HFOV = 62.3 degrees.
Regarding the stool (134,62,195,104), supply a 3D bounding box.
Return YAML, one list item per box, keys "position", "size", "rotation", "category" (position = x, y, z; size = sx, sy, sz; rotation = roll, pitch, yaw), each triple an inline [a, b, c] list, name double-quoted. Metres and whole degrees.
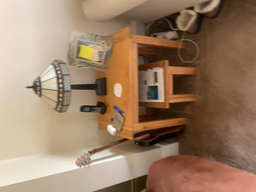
- position: [0.250, -0.080, 1.480]
  size: [0.290, 0.290, 0.250]
  rotation: [-2, 91, 55]
  category: "stool"
